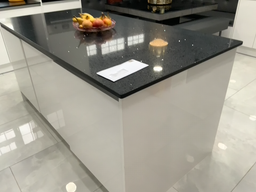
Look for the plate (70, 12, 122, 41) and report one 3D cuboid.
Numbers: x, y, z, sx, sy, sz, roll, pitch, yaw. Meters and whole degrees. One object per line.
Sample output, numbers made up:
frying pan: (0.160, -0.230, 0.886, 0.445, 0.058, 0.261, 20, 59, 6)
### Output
plate: (-0.240, -0.530, 1.590, 0.270, 0.120, 0.280, -23, 38, -32)
